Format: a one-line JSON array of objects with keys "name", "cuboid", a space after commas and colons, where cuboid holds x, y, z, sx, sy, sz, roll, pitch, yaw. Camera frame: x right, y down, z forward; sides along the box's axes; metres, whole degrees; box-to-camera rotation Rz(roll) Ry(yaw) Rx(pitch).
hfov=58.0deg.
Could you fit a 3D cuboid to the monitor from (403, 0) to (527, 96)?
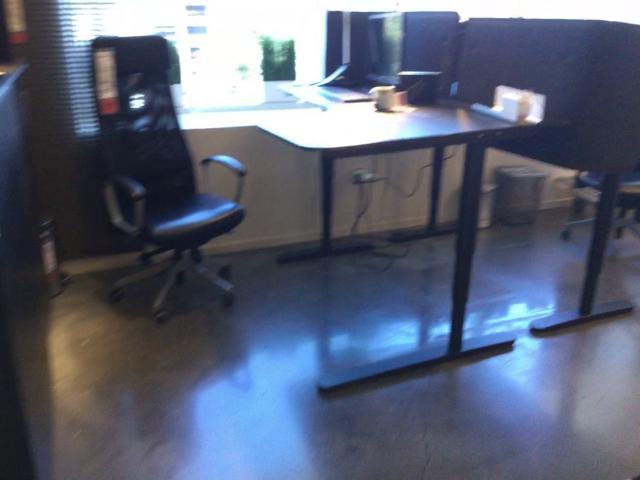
[{"name": "monitor", "cuboid": [0.710, -0.960, 2.870, 0.390, 0.390, 0.470, -13, 20, -14]}]
